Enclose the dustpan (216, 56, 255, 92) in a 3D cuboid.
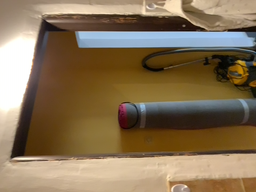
[{"bbox_3d":[1.320,-0.260,2.480,0.270,0.390,0.320,95,173,-56],"label":"dustpan"}]
